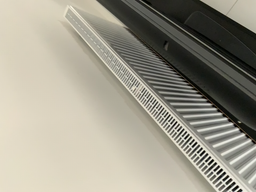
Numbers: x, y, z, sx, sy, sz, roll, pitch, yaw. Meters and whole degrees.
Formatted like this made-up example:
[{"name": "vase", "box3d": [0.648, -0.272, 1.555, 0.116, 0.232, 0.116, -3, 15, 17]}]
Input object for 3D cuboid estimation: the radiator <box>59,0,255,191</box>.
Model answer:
[{"name": "radiator", "box3d": [0.250, -0.020, 1.050, 1.440, 0.660, 0.080, 49, 119, 31]}]
